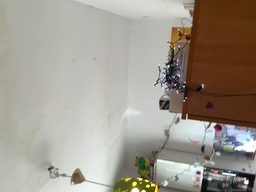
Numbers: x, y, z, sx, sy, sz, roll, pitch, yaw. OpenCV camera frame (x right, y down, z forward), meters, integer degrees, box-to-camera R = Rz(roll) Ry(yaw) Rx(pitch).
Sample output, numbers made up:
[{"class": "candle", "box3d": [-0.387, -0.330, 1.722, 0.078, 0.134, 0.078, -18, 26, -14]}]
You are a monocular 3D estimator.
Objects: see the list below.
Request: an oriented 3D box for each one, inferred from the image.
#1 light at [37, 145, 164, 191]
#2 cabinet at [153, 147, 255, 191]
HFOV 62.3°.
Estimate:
[{"class": "light", "box3d": [-0.170, 0.530, 1.330, 0.740, 0.210, 0.210, 8, -63, 14]}, {"class": "cabinet", "box3d": [1.010, 1.080, 2.900, 1.280, 0.290, 0.470, 7, -74, 15]}]
